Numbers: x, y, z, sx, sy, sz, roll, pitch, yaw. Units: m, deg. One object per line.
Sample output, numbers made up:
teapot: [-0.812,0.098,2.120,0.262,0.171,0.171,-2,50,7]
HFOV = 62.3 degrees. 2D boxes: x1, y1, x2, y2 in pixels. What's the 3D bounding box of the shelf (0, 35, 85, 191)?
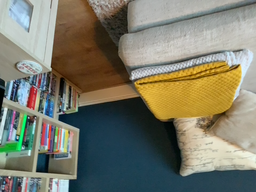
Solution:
shelf: [-0.750,0.630,1.550,0.360,1.810,0.980,-9,156,15]
